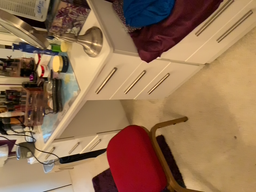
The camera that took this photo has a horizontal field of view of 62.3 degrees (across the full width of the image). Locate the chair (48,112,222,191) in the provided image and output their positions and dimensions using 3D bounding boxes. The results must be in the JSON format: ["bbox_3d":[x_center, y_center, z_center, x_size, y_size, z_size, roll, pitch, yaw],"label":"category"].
[{"bbox_3d":[0.050,0.480,1.260,0.460,0.800,0.580,-43,59,41],"label":"chair"}]
